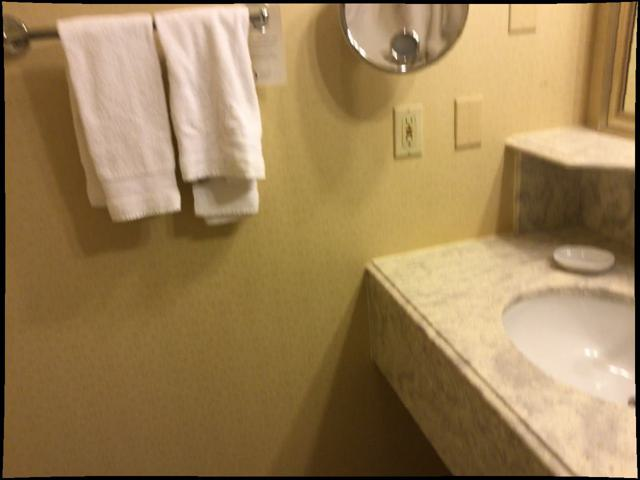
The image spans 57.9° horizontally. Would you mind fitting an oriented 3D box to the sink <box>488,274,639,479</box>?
[{"bbox_3d":[0.549,0.250,1.070,0.280,0.180,0.410,-10,23,-13],"label":"sink"}]
